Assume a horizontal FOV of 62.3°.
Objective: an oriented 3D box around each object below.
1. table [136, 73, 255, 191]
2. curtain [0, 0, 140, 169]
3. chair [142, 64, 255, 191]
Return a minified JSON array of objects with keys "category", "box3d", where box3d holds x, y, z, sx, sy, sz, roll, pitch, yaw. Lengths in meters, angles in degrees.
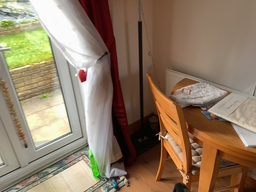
[{"category":"table","box3d":[0.540,0.410,1.270,0.510,0.780,0.870,-23,34,-32]},{"category":"curtain","box3d":[-0.410,-0.580,1.390,0.750,2.000,0.500,-24,34,-32]},{"category":"chair","box3d":[0.420,0.310,1.360,0.550,0.880,0.400,-9,28,-11]}]
